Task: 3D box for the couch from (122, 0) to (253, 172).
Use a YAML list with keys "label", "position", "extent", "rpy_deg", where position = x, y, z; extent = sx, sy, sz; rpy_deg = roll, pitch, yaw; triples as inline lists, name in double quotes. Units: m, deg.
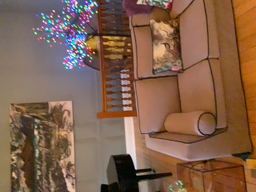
- label: "couch"
  position: [0.500, -0.520, 2.380]
  extent: [1.060, 0.790, 2.340]
  rpy_deg: [156, 111, -73]
